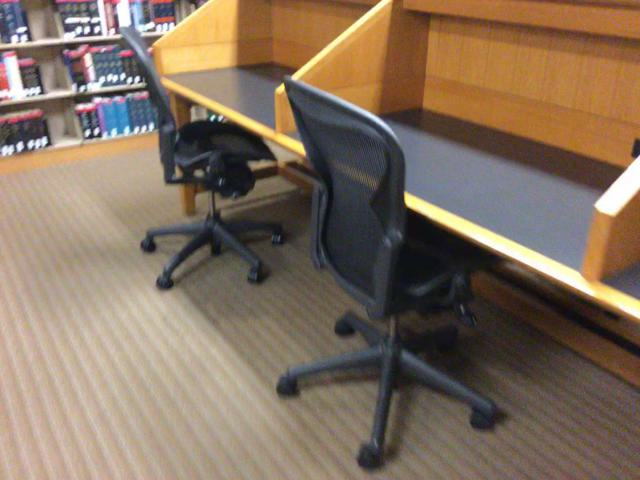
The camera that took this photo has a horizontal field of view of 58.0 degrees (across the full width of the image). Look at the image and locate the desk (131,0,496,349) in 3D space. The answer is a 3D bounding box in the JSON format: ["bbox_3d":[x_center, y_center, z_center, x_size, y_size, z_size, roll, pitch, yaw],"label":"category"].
[{"bbox_3d":[-0.140,-0.530,2.560,0.780,1.240,1.490,-17,31,-31],"label":"desk"}]

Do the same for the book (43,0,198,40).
[{"bbox_3d":[-1.330,-1.550,3.890,0.910,0.290,0.340,-17,31,-31],"label":"book"}]

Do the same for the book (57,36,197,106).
[{"bbox_3d":[-1.310,-1.180,3.990,0.830,0.350,0.270,-17,31,-31],"label":"book"}]
